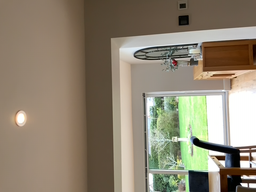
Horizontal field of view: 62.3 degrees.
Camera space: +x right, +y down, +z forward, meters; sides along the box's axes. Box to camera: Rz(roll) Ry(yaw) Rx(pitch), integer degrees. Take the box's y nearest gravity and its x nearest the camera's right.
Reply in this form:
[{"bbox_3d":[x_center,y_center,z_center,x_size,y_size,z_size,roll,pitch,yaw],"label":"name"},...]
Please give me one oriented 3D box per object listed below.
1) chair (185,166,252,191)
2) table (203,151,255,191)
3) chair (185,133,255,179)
[{"bbox_3d":[1.710,1.740,4.140,0.640,1.080,0.480,-27,-64,-80],"label":"chair"},{"bbox_3d":[1.790,1.990,3.590,0.990,0.760,1.870,8,-99,-81],"label":"table"},{"bbox_3d":[1.580,0.990,3.610,0.480,1.120,0.640,20,-111,-80],"label":"chair"}]
